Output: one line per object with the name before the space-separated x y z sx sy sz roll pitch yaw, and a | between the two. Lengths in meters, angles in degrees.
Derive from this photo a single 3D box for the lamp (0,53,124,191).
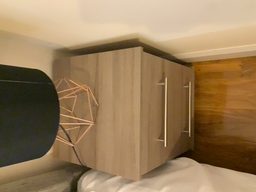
lamp | -0.230 0.050 0.570 0.230 0.410 0.250 2 90 36
